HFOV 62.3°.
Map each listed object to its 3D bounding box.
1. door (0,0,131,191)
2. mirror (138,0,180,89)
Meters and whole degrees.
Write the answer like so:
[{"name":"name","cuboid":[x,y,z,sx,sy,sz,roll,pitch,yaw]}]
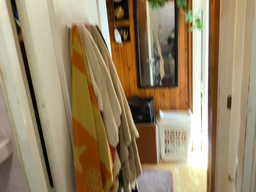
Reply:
[{"name":"door","cuboid":[-0.200,0.220,1.220,0.080,2.080,0.840,1,17,18]},{"name":"mirror","cuboid":[0.380,-0.690,2.520,0.450,1.220,0.080,-2,16,11]}]
